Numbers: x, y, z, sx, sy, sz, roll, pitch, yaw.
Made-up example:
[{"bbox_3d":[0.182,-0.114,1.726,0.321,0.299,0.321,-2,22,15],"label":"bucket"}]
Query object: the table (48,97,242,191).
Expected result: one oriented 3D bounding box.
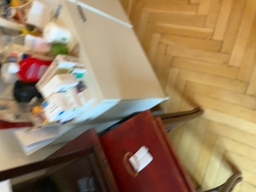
[{"bbox_3d":[0.110,0.380,1.120,0.630,0.660,0.510,-33,73,30],"label":"table"}]
